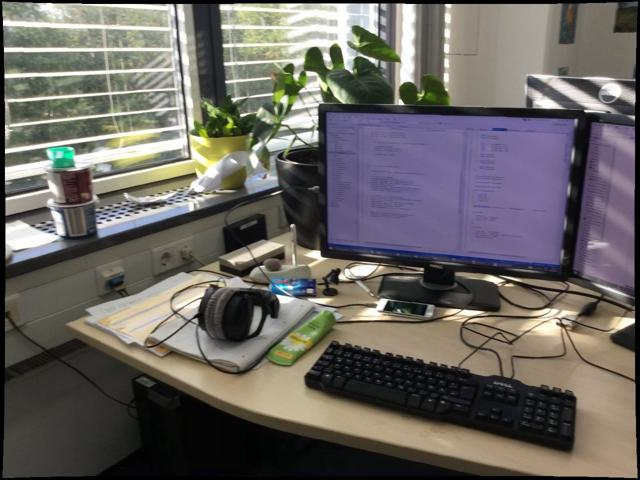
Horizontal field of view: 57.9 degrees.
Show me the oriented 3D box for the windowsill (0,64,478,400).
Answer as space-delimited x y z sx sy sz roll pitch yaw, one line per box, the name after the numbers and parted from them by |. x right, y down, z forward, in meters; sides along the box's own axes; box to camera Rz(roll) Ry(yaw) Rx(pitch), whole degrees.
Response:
-0.360 -0.190 1.890 0.460 0.520 3.079 15 26 35 | windowsill

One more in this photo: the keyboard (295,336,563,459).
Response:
0.180 0.250 0.970 0.420 0.030 0.150 8 23 20 | keyboard

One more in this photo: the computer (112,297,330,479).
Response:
-0.280 0.501 1.800 0.390 0.390 0.520 15 26 35 | computer
